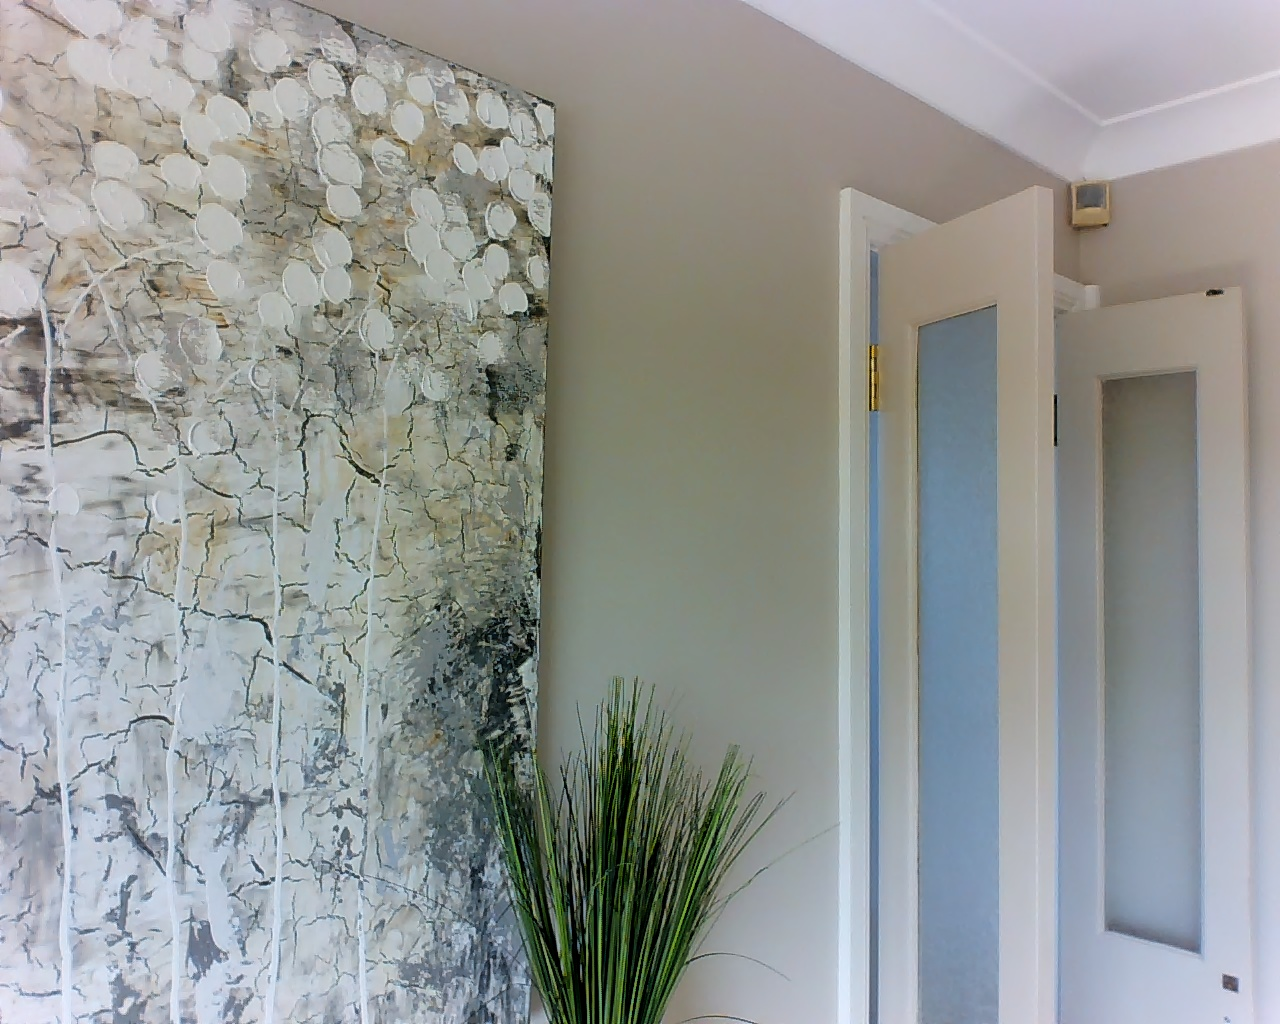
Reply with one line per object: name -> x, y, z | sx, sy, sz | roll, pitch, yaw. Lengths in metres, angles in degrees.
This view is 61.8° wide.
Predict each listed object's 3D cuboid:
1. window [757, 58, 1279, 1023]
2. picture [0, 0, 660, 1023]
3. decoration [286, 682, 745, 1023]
window -> 0.660, 0.530, 1.740 | 0.910, 2.131, 0.450 | 3, -4, -44
picture -> -0.430, 0.030, 0.800 | 1.070, 1.090, 0.170 | 3, -4, -44
decoration -> -0.090, 0.500, 0.990 | 0.260, 0.630, 0.390 | -1, -3, 24
